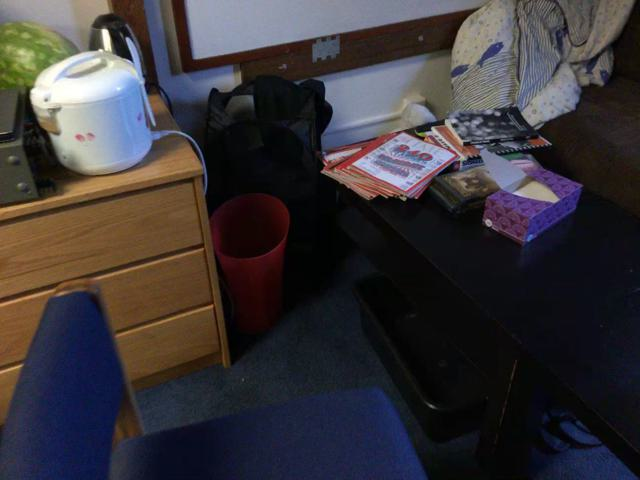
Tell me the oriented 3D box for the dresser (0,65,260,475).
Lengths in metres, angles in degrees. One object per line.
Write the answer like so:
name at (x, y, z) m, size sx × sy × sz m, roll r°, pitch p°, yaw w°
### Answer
dresser at (-0.660, 0.030, 1.560) m, size 0.750 × 0.720 × 0.640 m, roll -17°, pitch 37°, yaw -23°
